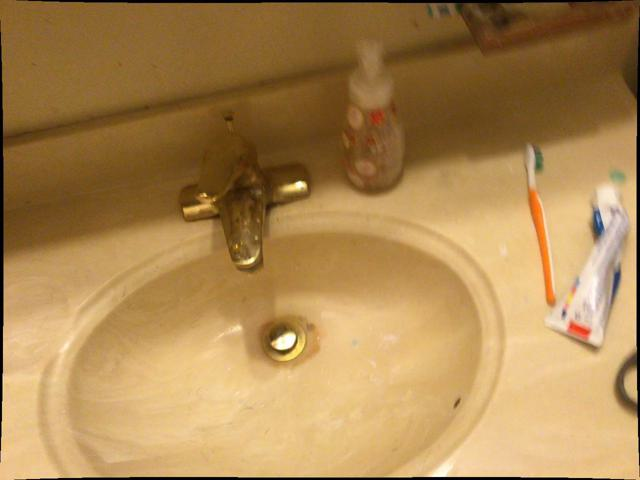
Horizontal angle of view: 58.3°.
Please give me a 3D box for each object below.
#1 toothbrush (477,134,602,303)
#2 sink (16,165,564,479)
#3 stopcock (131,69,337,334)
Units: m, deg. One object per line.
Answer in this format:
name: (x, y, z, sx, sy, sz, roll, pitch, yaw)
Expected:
toothbrush: (0.230, -0.030, 0.620, 0.070, 0.020, 0.200, -7, 57, 0)
sink: (-0.050, 0.140, 0.610, 0.450, 0.160, 0.330, -12, 57, -3)
stopcock: (-0.090, -0.040, 0.620, 0.170, 0.160, 0.200, -12, 57, -3)
